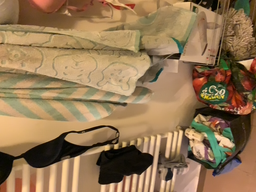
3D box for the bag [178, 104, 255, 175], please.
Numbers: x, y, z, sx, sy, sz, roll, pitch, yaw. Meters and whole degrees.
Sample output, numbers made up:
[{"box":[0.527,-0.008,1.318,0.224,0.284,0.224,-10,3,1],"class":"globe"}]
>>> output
[{"box":[0.530,0.230,1.260,0.210,0.400,0.290,23,109,46],"class":"bag"}]
